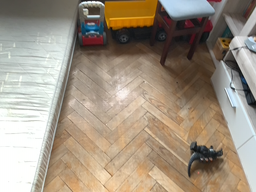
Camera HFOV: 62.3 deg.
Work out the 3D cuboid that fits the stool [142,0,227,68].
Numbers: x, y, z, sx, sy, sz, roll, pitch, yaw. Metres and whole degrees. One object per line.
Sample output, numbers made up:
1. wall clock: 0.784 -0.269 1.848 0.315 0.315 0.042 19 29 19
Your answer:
1. stool: 0.400 -0.560 1.680 0.390 0.470 0.390 -13 56 -16
